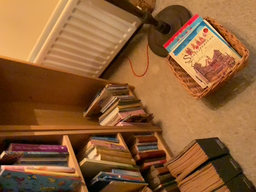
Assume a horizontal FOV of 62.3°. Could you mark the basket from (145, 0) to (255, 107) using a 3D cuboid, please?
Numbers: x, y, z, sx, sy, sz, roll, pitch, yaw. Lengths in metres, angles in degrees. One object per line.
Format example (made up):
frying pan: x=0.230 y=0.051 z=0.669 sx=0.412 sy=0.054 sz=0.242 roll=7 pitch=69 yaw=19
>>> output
basket: x=0.390 y=-0.240 z=1.210 sx=0.420 sy=0.180 sz=0.430 roll=-46 pitch=58 yaw=26
